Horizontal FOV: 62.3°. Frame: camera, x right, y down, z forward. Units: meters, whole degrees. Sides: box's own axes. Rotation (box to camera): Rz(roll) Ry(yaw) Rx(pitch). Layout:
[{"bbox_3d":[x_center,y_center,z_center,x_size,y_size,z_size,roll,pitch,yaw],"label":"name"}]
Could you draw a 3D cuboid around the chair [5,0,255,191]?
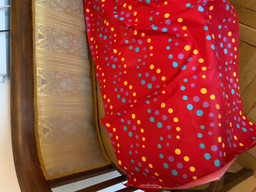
[{"bbox_3d":[0.040,-0.230,0.870,0.620,0.780,1.170,-12,80,41],"label":"chair"}]
